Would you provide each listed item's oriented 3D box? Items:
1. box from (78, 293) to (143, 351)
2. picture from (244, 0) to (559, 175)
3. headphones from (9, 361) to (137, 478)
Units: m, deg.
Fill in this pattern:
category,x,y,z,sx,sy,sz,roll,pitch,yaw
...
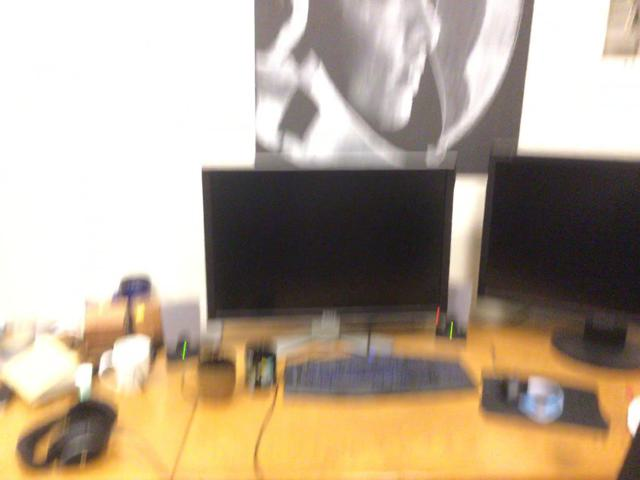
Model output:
category,x,y,z,sx,sy,sz,roll,pitch,yaw
box,-0.590,0.230,1.640,0.130,0.110,0.150,-1,14,-4
picture,0.230,-0.690,1.610,0.880,1.000,0.040,-1,14,-4
headphones,-0.510,0.370,1.230,0.170,0.120,0.250,-1,14,-4
